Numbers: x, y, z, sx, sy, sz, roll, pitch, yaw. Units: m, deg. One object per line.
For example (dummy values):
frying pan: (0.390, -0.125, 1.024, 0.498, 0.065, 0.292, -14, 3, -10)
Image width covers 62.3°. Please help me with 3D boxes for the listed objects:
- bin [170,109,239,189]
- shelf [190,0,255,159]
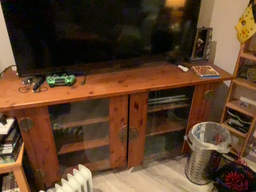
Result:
bin: (0.550, 0.370, 1.560, 0.300, 0.370, 0.320, 27, 39, 35)
shelf: (0.790, -0.290, 1.460, 0.360, 1.590, 0.240, 24, 37, 32)
